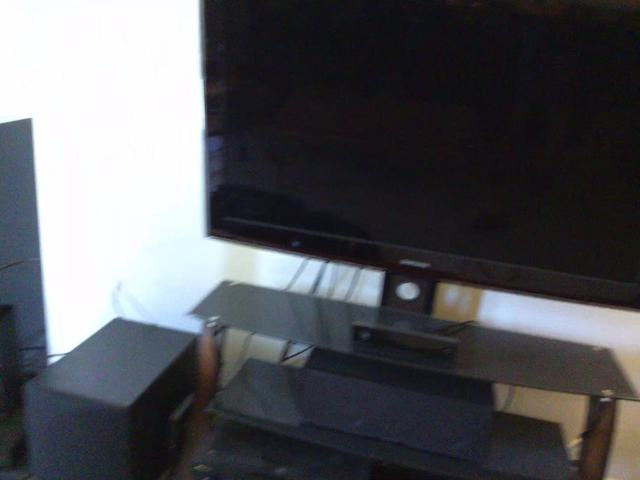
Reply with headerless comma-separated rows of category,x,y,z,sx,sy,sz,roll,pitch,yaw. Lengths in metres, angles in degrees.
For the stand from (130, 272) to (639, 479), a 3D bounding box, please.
stand,0.160,0.510,1.580,1.180,0.620,0.500,5,13,13
